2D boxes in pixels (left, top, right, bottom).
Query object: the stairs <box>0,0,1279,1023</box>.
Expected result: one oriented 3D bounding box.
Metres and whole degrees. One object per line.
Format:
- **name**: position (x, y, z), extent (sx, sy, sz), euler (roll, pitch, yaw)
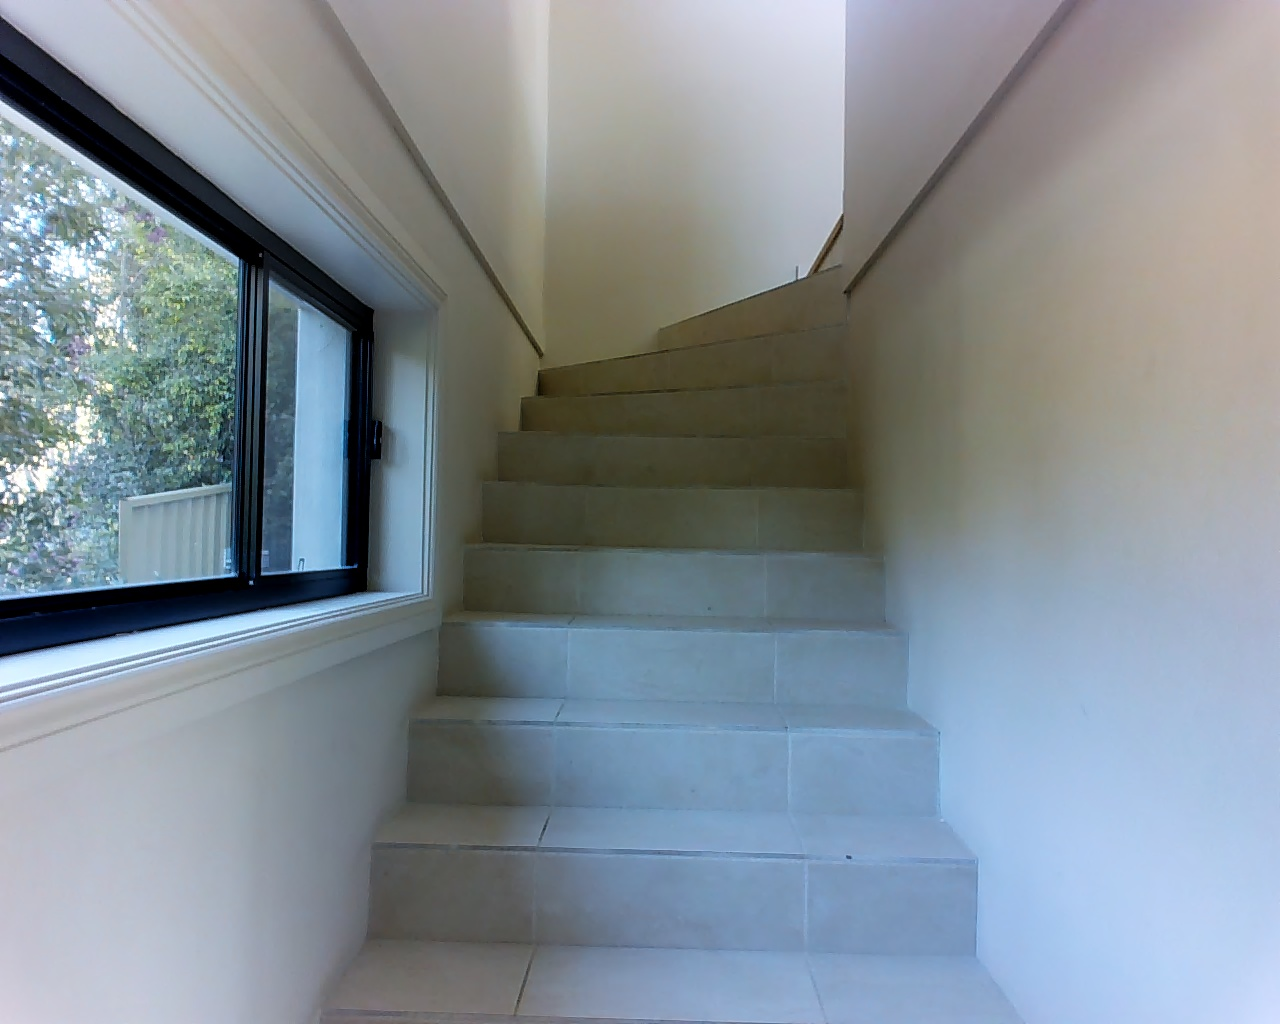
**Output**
- **stairs**: position (0.060, 0.420, 2.350), extent (1.060, 2.341, 3.700), euler (1, -1, 1)
